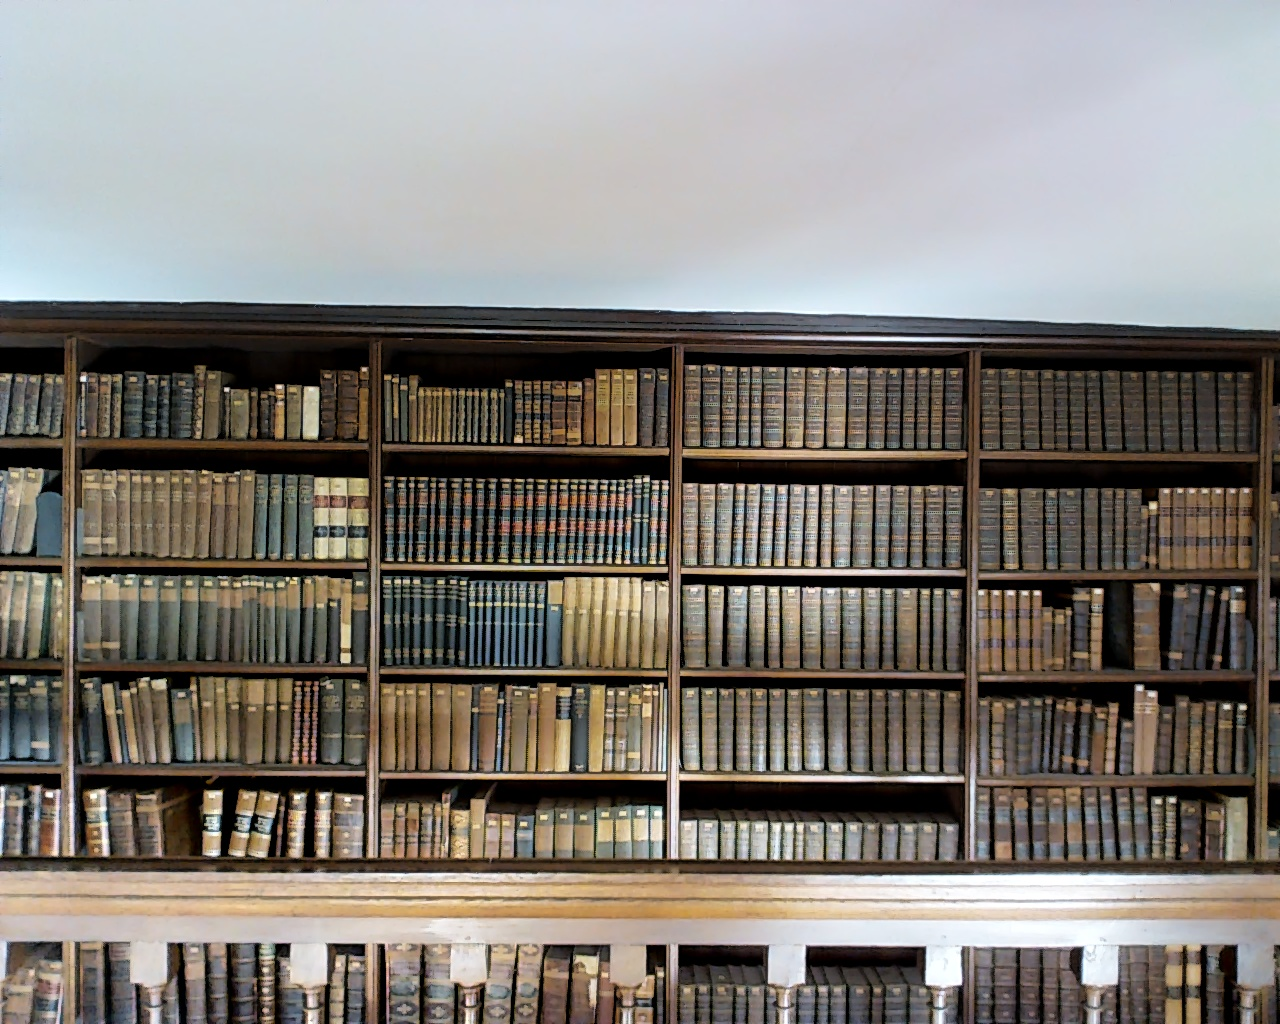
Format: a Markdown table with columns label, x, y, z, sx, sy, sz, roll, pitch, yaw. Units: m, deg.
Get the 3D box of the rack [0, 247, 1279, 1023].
| label | x | y | z | sx | sy | sz | roll | pitch | yaw |
| --- | --- | --- | --- | --- | --- | --- | --- | --- | --- |
| rack | 3.879 | 0.570 | 2.630 | 12.346 | 2.071 | 0.840 | 1 | 0 | -1 |
